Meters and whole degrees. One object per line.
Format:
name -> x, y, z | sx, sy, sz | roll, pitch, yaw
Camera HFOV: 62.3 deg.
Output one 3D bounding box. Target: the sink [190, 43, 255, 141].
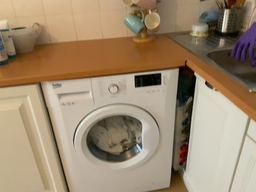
sink -> 0.550, -0.060, 0.870 | 0.420, 0.190, 0.430 | -6, 29, -7
